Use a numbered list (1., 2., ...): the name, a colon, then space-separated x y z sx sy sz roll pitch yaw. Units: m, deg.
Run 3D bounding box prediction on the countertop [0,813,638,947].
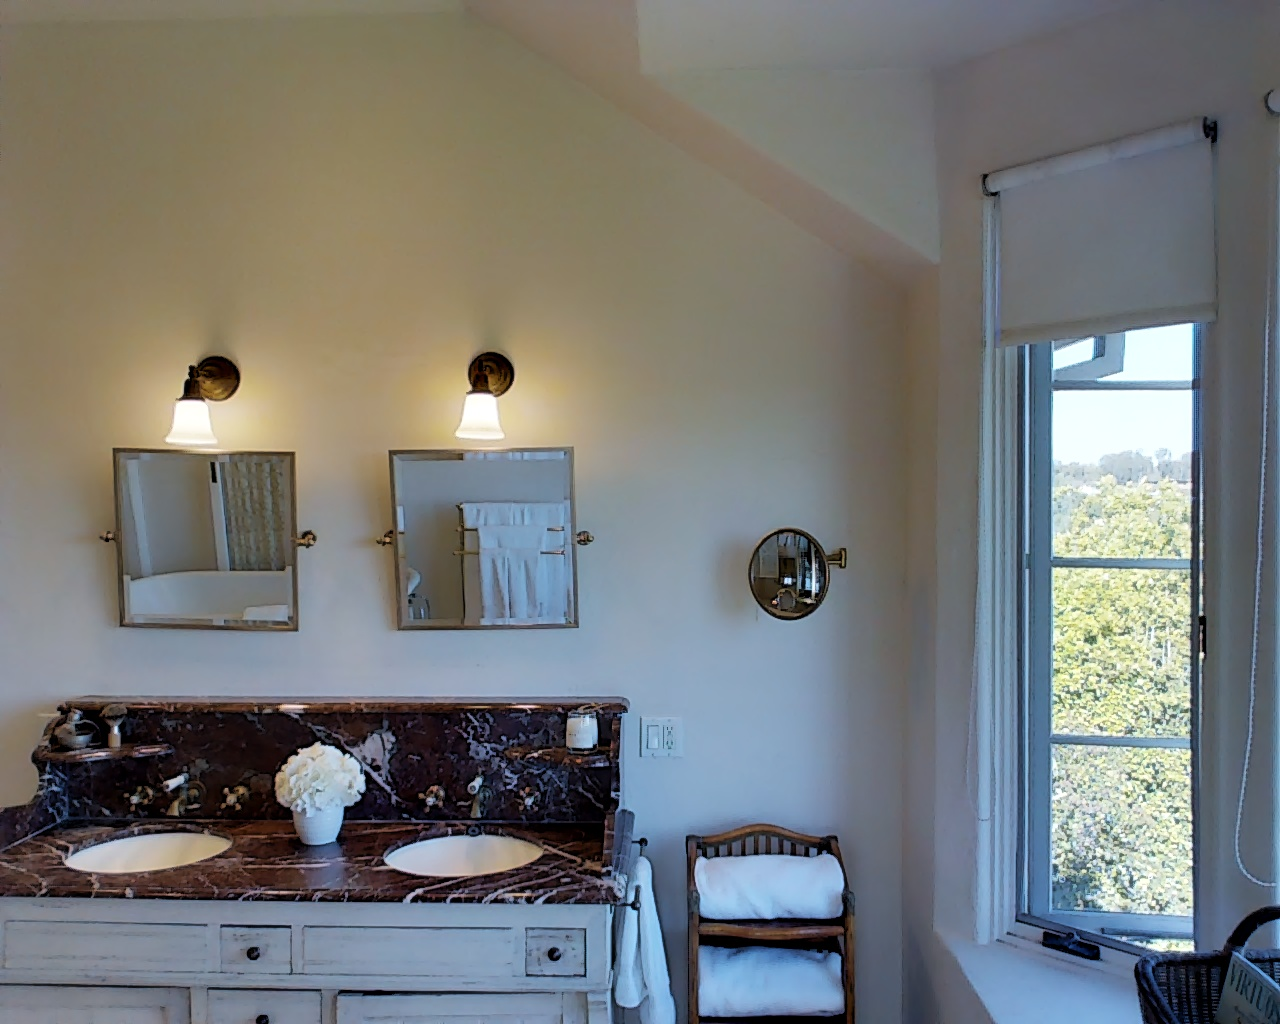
1. countertop: -0.820 0.890 2.650 1.610 0.120 0.570 0 1 2
